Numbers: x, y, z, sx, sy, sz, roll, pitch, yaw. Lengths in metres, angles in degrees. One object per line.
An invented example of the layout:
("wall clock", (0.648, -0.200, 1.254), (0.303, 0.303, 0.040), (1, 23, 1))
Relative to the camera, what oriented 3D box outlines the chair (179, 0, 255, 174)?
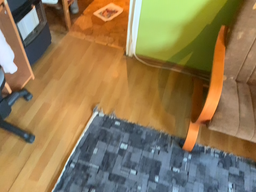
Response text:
("chair", (0.780, -0.110, 1.240), (0.610, 0.980, 0.730), (16, 53, 5))
